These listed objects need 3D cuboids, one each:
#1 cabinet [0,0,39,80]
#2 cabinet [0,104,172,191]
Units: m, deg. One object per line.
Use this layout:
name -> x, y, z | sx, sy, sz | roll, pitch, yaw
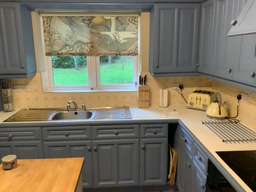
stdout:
cabinet -> -1.290, -0.620, 2.310 | 0.430, 0.850, 0.300 | -1, 13, -3
cabinet -> -0.530, 0.610, 2.490 | 1.930, 0.870, 0.600 | -1, 13, -3
